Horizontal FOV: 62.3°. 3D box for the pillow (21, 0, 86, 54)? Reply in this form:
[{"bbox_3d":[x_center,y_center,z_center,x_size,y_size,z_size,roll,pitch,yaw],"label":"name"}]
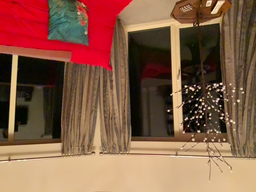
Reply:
[{"bbox_3d":[-0.720,-0.700,2.080,0.440,0.400,0.160,-35,-168,-32],"label":"pillow"}]
